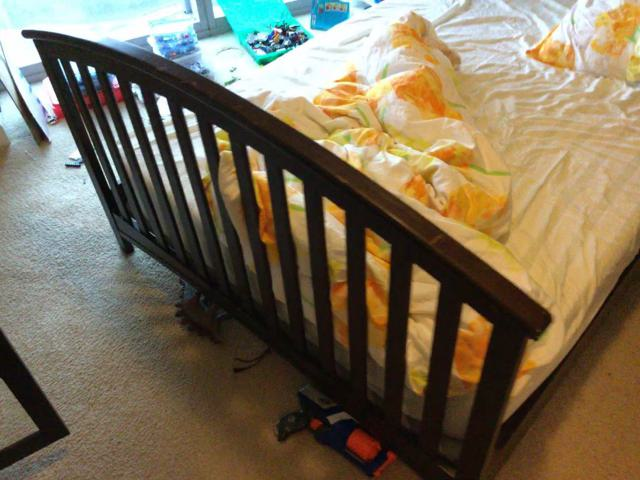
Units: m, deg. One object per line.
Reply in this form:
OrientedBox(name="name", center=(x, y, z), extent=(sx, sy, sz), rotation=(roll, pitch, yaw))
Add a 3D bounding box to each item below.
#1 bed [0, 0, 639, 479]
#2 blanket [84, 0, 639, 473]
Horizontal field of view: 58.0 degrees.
OrientedBox(name="bed", center=(0.450, -0.610, 1.660), extent=(1.440, 1.230, 2.050), rotation=(32, 56, 32))
OrientedBox(name="blanket", center=(0.260, -0.280, 1.480), extent=(1.090, 0.400, 1.170), rotation=(32, 56, 32))
